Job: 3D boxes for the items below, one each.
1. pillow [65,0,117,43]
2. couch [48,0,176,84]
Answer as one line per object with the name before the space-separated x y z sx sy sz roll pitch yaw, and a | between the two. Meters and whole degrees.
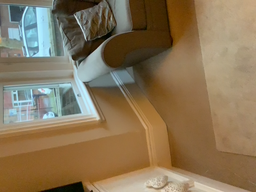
pillow | -0.380 -0.810 2.210 0.390 0.360 0.070 48 156 -3
couch | -0.290 -1.010 2.310 1.060 0.940 1.570 -9 88 63
